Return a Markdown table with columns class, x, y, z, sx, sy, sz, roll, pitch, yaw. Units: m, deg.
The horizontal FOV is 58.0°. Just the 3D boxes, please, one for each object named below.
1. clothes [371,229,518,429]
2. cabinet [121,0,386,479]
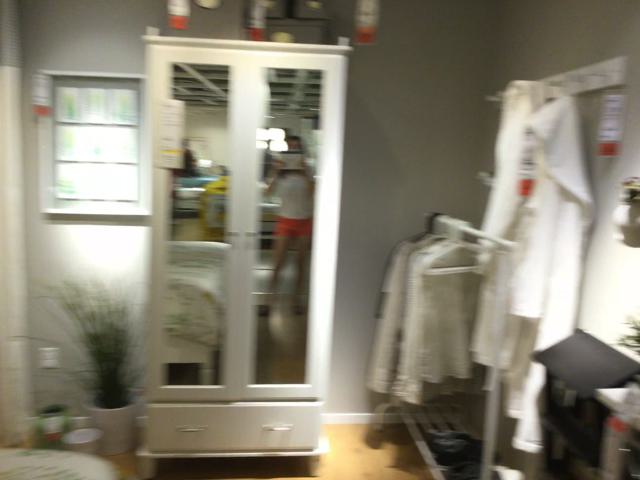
| class | x | y | z | sx | sy | sz | roll | pitch | yaw |
| --- | --- | --- | --- | --- | --- | --- | --- | --- | --- |
| clothes | 0.570 | 0.410 | 2.730 | 0.560 | 0.880 | 0.260 | 3 | 5 | -7 |
| cabinet | -0.340 | 0.060 | 2.760 | 0.990 | 2.090 | 0.750 | 3 | 5 | -9 |
